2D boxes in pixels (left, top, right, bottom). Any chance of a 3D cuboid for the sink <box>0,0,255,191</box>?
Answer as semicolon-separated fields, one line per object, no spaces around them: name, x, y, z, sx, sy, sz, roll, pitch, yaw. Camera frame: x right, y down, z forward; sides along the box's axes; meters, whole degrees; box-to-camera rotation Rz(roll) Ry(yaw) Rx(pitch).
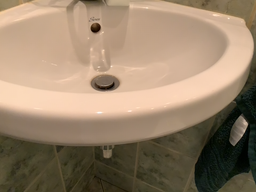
sink;-0.020;-0.030;0.390;0.400;0.200;0.410;18;39;19
